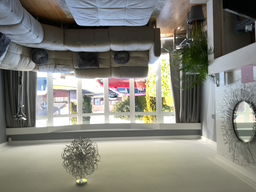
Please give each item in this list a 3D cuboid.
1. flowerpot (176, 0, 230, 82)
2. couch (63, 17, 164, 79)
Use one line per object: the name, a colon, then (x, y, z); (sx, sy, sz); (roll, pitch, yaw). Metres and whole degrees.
flowerpot: (1.260, -0.900, 3.720); (0.710, 1.250, 0.710); (-1, 180, 4)
couch: (-0.280, -0.930, 4.390); (1.830, 1.020, 1.020); (-1, 180, -3)
